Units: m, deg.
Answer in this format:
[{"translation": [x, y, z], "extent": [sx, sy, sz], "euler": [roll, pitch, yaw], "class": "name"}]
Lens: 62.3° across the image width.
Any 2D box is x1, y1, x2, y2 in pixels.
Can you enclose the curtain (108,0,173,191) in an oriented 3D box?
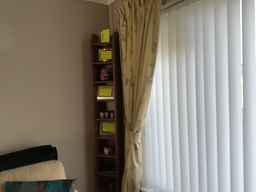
[{"translation": [0.080, 0.040, 1.790], "extent": [0.130, 1.900, 0.680], "euler": [-4, 4, -32], "class": "curtain"}]
